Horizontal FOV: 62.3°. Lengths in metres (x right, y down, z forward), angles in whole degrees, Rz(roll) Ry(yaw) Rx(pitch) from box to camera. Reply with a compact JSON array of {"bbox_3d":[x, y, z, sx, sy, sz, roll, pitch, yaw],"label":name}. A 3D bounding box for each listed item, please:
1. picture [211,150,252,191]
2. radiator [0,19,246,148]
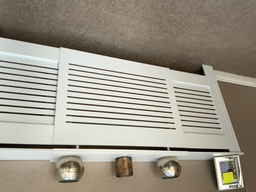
[{"bbox_3d":[0.780,0.570,1.610,0.250,0.250,0.090,17,145,-17],"label":"picture"},{"bbox_3d":[-0.050,-0.040,1.490,1.930,0.770,0.120,6,150,-22],"label":"radiator"}]
